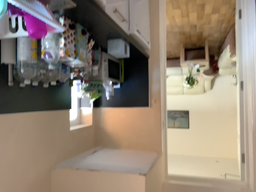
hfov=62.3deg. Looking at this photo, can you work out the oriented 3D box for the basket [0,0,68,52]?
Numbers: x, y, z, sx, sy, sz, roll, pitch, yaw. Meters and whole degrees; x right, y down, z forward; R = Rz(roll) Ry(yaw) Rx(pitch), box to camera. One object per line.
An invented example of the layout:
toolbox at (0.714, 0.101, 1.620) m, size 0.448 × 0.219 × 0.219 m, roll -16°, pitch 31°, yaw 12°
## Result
basket at (-0.540, -0.330, 0.890) m, size 0.400 × 0.180 × 0.390 m, roll -1°, pitch 179°, yaw 20°
